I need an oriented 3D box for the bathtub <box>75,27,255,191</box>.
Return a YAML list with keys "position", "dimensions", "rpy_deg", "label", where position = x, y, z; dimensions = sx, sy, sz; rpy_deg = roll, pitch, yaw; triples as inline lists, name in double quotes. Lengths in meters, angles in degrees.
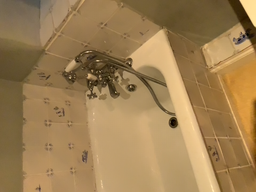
- position: [0.220, 0.600, 1.110]
  dimensions: [0.710, 0.520, 1.680]
  rpy_deg: [-31, 60, 37]
  label: "bathtub"
